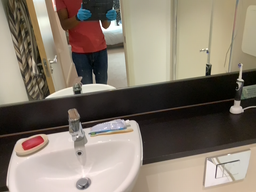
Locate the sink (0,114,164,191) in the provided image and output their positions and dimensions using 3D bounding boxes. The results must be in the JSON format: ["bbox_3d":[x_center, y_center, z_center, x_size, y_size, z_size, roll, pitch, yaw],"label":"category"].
[{"bbox_3d":[-0.190,0.320,0.860,0.540,0.220,0.470,-8,25,-8],"label":"sink"}]
